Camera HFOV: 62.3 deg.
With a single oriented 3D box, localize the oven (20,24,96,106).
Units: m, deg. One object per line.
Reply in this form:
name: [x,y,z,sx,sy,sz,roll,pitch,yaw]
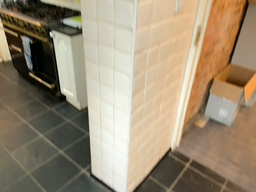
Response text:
oven: [-0.830,-0.420,2.670,0.540,0.750,0.630,25,39,31]
